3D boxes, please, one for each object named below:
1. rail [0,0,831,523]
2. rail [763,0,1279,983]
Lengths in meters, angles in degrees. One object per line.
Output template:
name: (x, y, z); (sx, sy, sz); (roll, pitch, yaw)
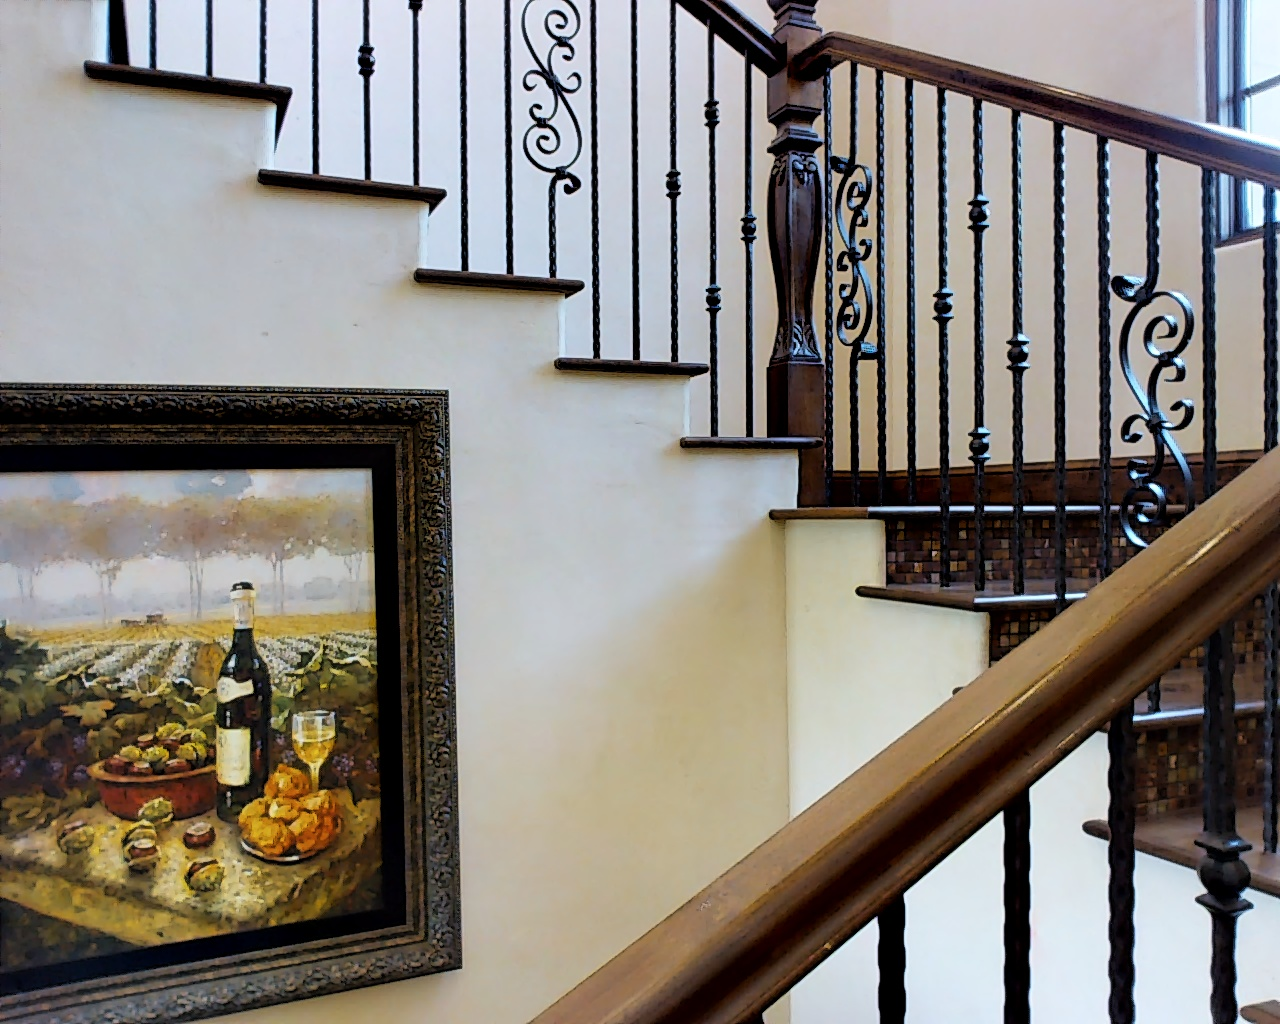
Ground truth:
rail: (-0.710, -1.190, 2.120); (2.520, 2.410, 0.080); (-1, 1, -24)
rail: (0.710, -0.340, 1.830); (0.060, 1.940, 1.840); (-1, 1, -24)
